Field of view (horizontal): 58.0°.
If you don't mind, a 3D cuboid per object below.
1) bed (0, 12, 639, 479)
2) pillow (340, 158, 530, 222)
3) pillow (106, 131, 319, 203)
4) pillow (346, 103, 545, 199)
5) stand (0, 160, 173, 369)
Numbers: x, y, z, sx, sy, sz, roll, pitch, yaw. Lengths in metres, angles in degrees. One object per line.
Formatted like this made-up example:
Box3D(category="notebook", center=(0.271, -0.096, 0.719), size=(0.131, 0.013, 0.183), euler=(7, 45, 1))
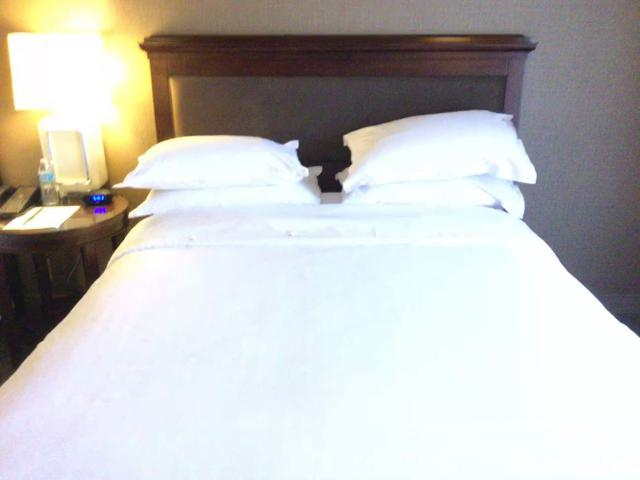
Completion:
Box3D(category="bed", center=(-0.050, 0.120, 1.730), size=(1.820, 1.360, 2.230), euler=(0, 18, 3))
Box3D(category="pillow", center=(0.450, -0.220, 2.450), size=(0.720, 0.170, 0.440), euler=(0, 18, 3))
Box3D(category="pillow", center=(-0.410, -0.330, 2.500), size=(0.780, 0.190, 0.610), euler=(0, 18, 3))
Box3D(category="pillow", center=(0.470, -0.380, 2.380), size=(0.720, 0.310, 0.470), euler=(0, 18, 3))
Box3D(category="stand", center=(-1.110, 0.080, 2.720), size=(0.580, 0.800, 0.650), euler=(0, 18, 3))
